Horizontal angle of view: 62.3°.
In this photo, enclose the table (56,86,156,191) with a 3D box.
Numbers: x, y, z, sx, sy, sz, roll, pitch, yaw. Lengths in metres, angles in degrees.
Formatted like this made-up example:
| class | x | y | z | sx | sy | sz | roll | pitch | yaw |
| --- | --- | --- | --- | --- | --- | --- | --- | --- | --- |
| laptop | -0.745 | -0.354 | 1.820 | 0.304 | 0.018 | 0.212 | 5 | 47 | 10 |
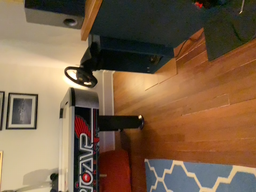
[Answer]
| class | x | y | z | sx | sy | sz | roll | pitch | yaw |
| --- | --- | --- | --- | --- | --- | --- | --- | --- | --- |
| table | -0.330 | 0.970 | 2.370 | 1.140 | 0.810 | 1.900 | 153 | 117 | -65 |
